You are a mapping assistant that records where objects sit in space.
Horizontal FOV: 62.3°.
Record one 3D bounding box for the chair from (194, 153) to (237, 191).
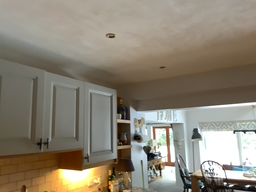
[{"bbox_3d":[1.770,1.770,4.250,0.600,1.140,0.580,-8,-11,37],"label":"chair"}]
